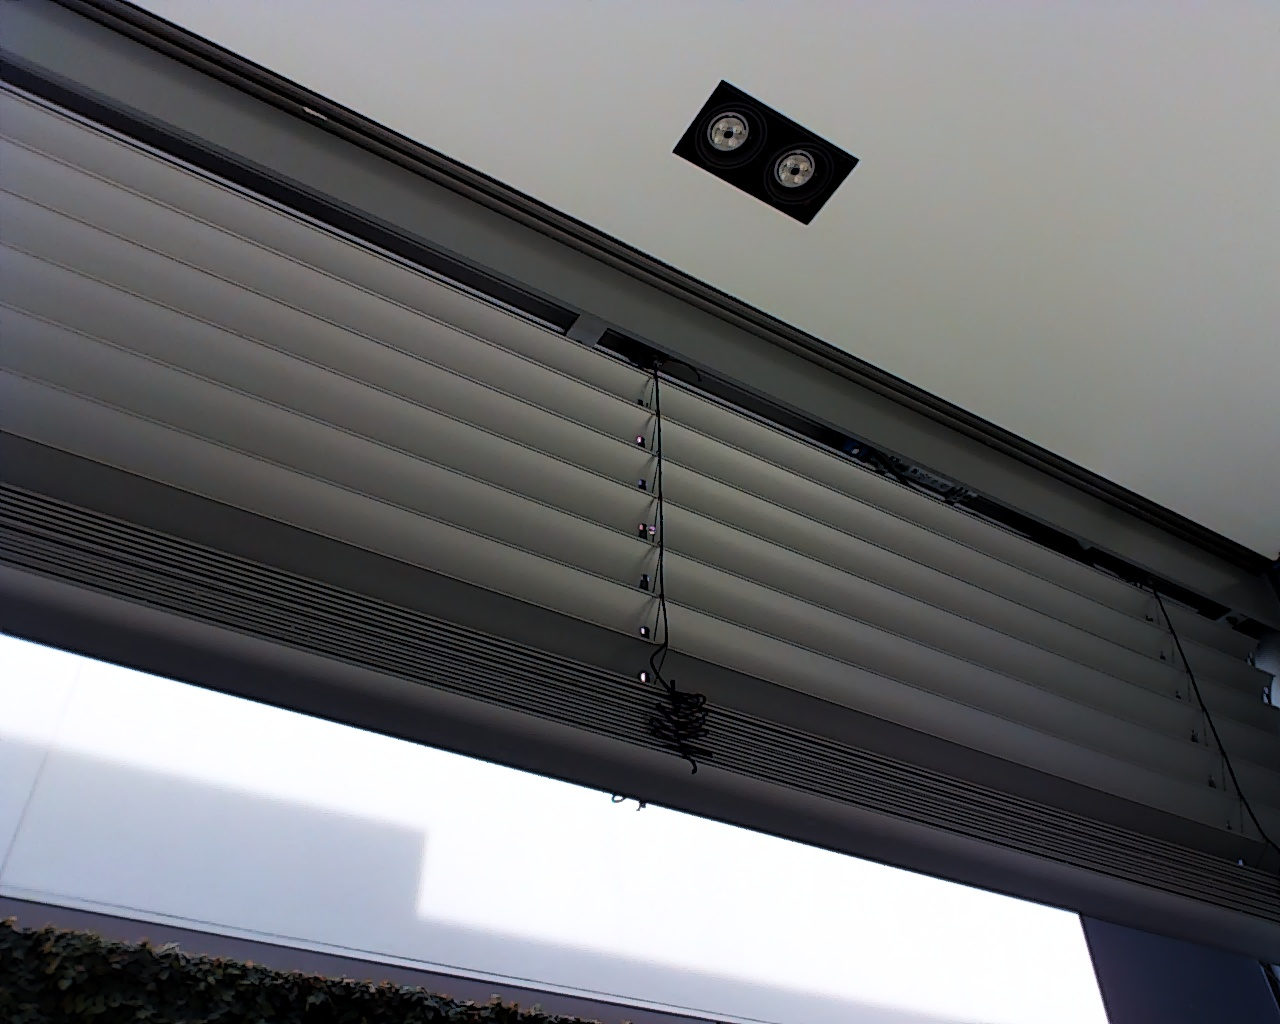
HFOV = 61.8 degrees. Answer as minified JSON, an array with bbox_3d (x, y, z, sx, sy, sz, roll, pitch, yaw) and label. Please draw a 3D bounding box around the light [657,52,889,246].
[{"bbox_3d":[0.160,-0.430,1.290,0.240,0.020,0.140,21,-47,-23],"label":"light"}]
